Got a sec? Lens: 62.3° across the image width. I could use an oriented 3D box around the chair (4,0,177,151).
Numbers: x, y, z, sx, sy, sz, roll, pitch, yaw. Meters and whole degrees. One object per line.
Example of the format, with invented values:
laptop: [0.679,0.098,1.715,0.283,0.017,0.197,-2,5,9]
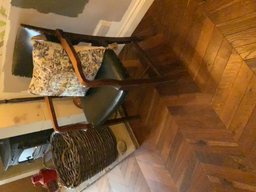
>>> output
chair: [-0.300,-0.140,1.550,0.700,0.900,0.620,-48,61,43]
